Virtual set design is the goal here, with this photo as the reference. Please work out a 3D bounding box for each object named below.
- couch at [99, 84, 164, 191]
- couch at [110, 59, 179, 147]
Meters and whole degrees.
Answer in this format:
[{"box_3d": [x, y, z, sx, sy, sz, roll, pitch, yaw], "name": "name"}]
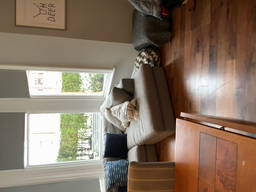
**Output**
[{"box_3d": [0.020, 1.230, 3.730, 0.890, 0.750, 2.770, 125, 142, -60], "name": "couch"}, {"box_3d": [0.190, 0.130, 3.340, 0.780, 0.700, 1.120, 124, 143, -60], "name": "couch"}]
